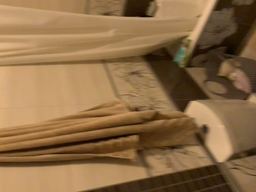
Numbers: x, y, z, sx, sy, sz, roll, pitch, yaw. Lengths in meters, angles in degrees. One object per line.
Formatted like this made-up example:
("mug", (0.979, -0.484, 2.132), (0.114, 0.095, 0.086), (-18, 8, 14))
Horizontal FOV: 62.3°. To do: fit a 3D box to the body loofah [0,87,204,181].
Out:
("body loofah", (-0.140, 0.120, 0.890), (0.140, 0.900, 0.290), (110, 148, -41))
